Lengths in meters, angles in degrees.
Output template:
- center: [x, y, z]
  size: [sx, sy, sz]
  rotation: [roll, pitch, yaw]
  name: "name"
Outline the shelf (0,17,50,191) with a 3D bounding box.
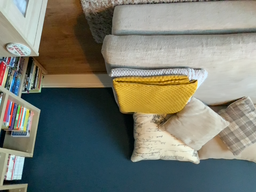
- center: [-1.070, 0.440, 1.550]
  size: [0.360, 1.810, 0.980]
  rotation: [0, 160, 3]
  name: "shelf"
